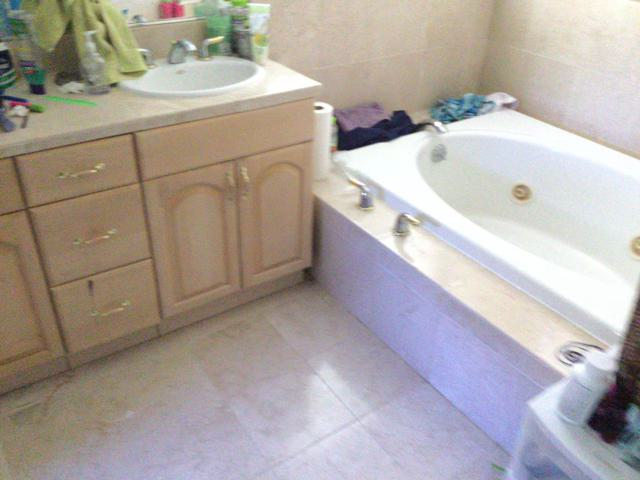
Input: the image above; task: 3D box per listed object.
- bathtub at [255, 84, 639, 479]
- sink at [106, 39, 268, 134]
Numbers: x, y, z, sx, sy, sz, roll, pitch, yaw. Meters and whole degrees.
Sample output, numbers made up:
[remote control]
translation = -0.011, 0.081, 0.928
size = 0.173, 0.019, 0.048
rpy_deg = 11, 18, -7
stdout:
[bathtub]
translation = 0.760, 0.030, 2.120
size = 1.210, 0.540, 1.830
rpy_deg = -20, 38, -31
[sink]
translation = -0.450, -0.540, 1.970
size = 0.390, 0.160, 0.400
rpy_deg = -20, 39, -32
